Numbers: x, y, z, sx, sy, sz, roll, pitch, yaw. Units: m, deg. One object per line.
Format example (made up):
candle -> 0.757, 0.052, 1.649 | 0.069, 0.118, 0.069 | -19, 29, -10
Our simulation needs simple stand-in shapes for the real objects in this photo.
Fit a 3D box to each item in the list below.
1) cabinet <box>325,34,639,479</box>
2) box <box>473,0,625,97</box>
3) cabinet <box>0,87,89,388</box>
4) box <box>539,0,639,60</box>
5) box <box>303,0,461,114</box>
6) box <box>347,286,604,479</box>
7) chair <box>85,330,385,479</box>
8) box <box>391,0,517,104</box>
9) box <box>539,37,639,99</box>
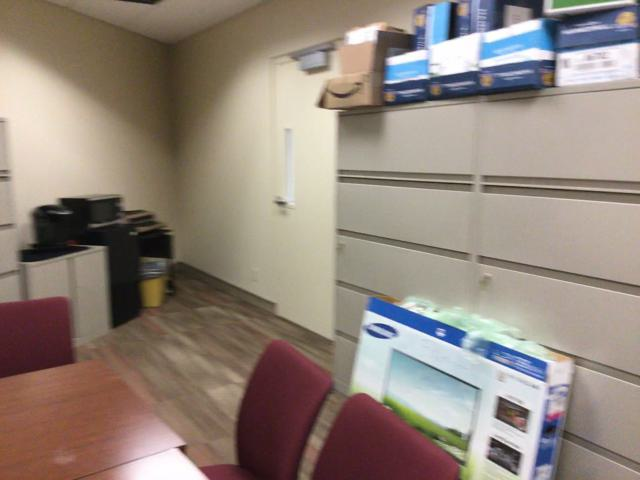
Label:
cabinet -> 0.890, 0.150, 2.430 | 0.550, 1.690, 2.350 | -4, 8, -31
box -> 0.850, -0.720, 2.190 | 0.270, 0.280, 0.450 | -4, 8, -31
cabinet -> -2.040, -0.020, 3.360 | 0.570, 1.680, 1.210 | 3, 7, 20
box -> 0.890, -0.710, 1.900 | 0.050, 0.170, 0.350 | -3, 8, -32
box -> 0.300, -0.930, 3.020 | 0.520, 0.450, 0.650 | -4, 8, -31
box -> 0.580, 0.700, 2.410 | 0.300, 0.780, 1.090 | -13, 13, -30
chair -> -0.250, 0.750, 1.550 | 0.590, 0.820, 0.580 | -4, 8, -31
box -> 0.580, -0.890, 2.560 | 0.300, 0.500, 0.450 | -4, 8, -31
box -> 0.990, -0.570, 1.950 | 0.270, 0.130, 0.380 | -4, 8, -31
